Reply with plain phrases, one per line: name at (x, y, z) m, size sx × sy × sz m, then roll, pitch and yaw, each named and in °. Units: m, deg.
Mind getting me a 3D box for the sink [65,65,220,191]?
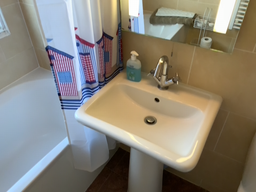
sink at (0.080, 0.090, 0.990) m, size 0.550 × 0.140 × 0.440 m, roll 20°, pitch 44°, yaw 23°
